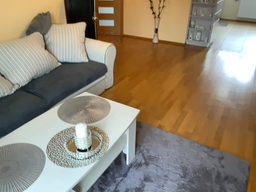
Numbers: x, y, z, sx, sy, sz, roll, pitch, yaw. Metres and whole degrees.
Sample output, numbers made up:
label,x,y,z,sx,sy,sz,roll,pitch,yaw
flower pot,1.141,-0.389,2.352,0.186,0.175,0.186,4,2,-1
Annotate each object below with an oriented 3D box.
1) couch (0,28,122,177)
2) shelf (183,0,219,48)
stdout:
label,x,y,z,sx,sy,sz,roll,pitch,yaw
couch,-1.150,-0.050,2.200,1.020,0.690,2.450,17,34,26
shelf,1.560,-1.660,4.510,0.550,1.170,0.170,16,34,24
